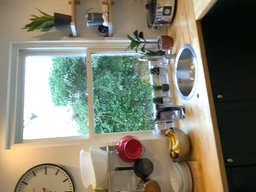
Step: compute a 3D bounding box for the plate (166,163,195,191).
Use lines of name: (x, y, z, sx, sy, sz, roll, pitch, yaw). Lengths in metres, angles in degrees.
plate: (0.410, 0.650, 1.670, 0.200, 0.140, 0.190, 127, 140, -78)
